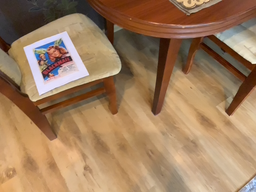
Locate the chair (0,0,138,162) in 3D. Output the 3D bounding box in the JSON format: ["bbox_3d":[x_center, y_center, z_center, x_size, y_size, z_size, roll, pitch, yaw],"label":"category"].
[{"bbox_3d":[-0.340,-0.180,0.940,0.600,0.960,0.450,-28,63,-15],"label":"chair"}]

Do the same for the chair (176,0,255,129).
[{"bbox_3d":[0.670,-0.350,1.030,0.460,0.960,0.540,-29,63,-16],"label":"chair"}]
